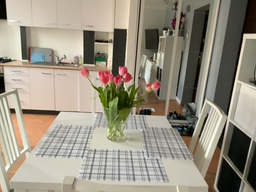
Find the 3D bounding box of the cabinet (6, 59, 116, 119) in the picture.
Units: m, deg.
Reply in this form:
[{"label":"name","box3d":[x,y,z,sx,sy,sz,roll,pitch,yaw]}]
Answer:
[{"label":"cabinet","box3d":[-1.110,-0.150,3.780,1.710,0.850,0.580,4,16,-2]}]
